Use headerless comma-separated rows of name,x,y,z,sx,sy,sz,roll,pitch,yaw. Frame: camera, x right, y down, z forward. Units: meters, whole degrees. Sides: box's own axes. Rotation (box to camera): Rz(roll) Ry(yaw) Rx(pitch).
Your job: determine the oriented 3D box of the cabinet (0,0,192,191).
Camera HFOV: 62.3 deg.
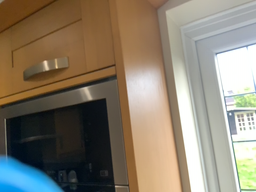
cabinet,-0.230,0.030,0.850,0.760,0.840,0.390,-11,-9,30
